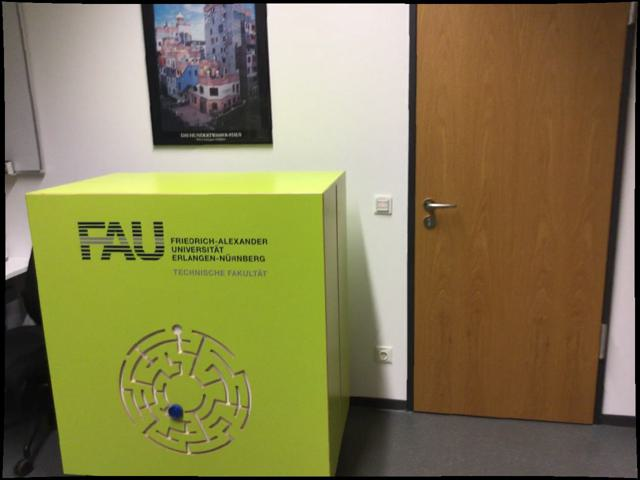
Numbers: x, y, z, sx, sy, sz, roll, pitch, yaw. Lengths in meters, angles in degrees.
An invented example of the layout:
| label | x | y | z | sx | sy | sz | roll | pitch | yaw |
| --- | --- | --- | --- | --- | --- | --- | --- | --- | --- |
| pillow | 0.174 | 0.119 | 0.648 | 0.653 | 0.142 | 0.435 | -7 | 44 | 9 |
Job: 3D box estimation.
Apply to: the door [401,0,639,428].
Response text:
| label | x | y | z | sx | sy | sz | roll | pitch | yaw |
| --- | --- | --- | --- | --- | --- | --- | --- | --- | --- |
| door | 0.839 | -0.210 | 2.460 | 0.959 | 2.092 | 0.130 | 1 | 15 | 12 |
